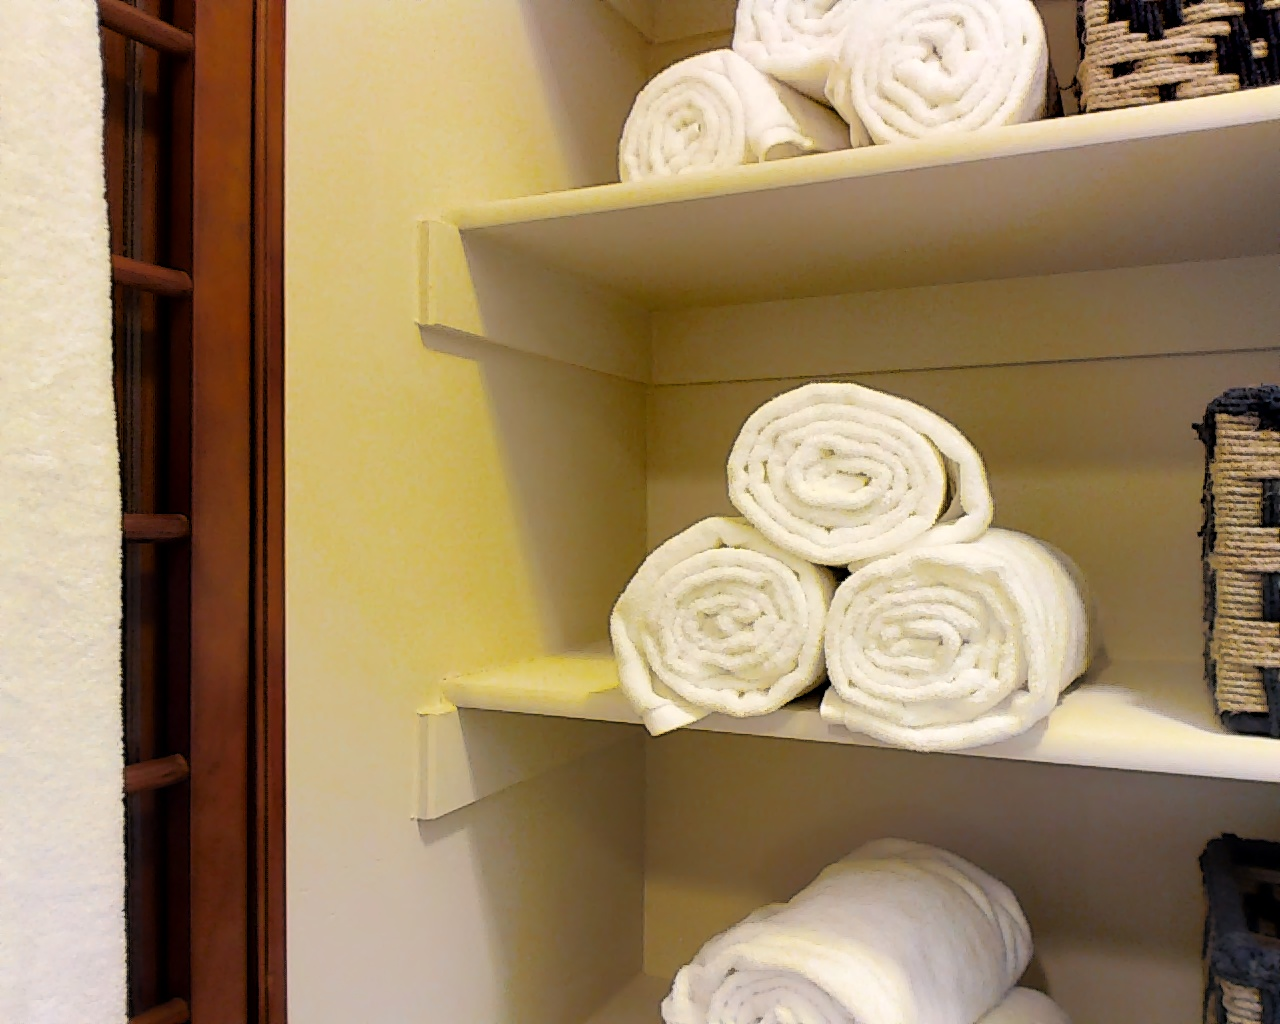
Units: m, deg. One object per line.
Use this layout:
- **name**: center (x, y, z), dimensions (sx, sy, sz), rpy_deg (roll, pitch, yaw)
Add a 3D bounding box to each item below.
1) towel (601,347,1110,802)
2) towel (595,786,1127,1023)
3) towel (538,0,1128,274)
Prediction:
- **towel**: center (0.200, 0.040, 0.860), dimensions (0.310, 0.260, 0.400), rpy_deg (0, -1, 26)
- **towel**: center (0.200, 0.390, 0.870), dimensions (0.330, 0.220, 0.370), rpy_deg (0, -1, 29)
- **towel**: center (0.180, -0.370, 0.910), dimensions (0.420, 0.220, 0.330), rpy_deg (0, -1, 26)
